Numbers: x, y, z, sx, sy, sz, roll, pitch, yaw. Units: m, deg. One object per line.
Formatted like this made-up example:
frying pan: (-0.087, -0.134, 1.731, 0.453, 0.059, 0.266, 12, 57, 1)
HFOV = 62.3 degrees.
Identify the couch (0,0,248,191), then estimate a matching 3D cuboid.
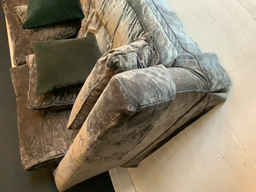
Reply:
couch: (-0.430, -0.480, 1.660, 1.260, 0.870, 2.030, -52, 52, 42)

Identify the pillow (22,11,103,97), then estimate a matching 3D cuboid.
pillow: (-0.380, -0.270, 1.360, 0.160, 0.420, 0.410, -42, 34, 27)
